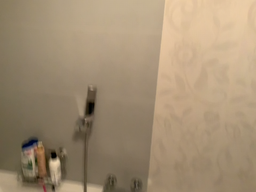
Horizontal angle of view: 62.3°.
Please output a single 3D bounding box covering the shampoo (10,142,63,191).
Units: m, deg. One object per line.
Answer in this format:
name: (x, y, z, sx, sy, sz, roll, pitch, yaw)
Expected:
shampoo: (-0.510, 0.400, 1.200, 0.250, 0.230, 0.080, 6, 20, 8)
